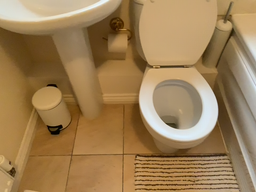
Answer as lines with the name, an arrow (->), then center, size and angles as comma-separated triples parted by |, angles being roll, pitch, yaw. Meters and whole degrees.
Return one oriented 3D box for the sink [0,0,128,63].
sink -> -0.290, -0.360, 0.860 | 0.570, 0.170, 0.480 | 0, 50, 1
